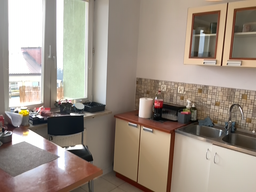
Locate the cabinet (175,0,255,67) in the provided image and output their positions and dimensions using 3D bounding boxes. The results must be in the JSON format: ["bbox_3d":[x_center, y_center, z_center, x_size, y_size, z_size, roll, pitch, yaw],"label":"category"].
[{"bbox_3d":[1.270,-0.540,1.840,1.700,0.590,0.320,12,13,41],"label":"cabinet"}]

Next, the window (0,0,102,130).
[{"bbox_3d":[-0.840,-0.500,2.350,0.200,1.520,1.220,12,13,40],"label":"window"}]

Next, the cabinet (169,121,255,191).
[{"bbox_3d":[0.930,0.800,2.180,0.790,0.830,0.520,12,13,41],"label":"cabinet"}]
